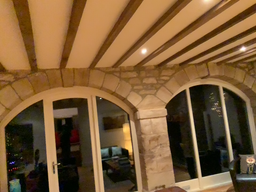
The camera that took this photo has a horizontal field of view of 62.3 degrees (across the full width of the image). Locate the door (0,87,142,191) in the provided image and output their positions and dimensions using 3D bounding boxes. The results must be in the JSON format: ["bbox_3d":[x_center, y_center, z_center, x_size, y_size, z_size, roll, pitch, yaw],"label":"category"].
[{"bbox_3d":[-1.010,1.070,4.040,2.430,2.350,0.120,-5,-6,-17],"label":"door"}]

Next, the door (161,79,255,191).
[{"bbox_3d":[1.950,0.810,4.990,2.250,2.320,0.160,-4,-6,-20],"label":"door"}]

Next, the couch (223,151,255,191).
[{"bbox_3d":[2.400,1.510,4.180,0.800,0.670,0.830,-9,-7,28],"label":"couch"}]
